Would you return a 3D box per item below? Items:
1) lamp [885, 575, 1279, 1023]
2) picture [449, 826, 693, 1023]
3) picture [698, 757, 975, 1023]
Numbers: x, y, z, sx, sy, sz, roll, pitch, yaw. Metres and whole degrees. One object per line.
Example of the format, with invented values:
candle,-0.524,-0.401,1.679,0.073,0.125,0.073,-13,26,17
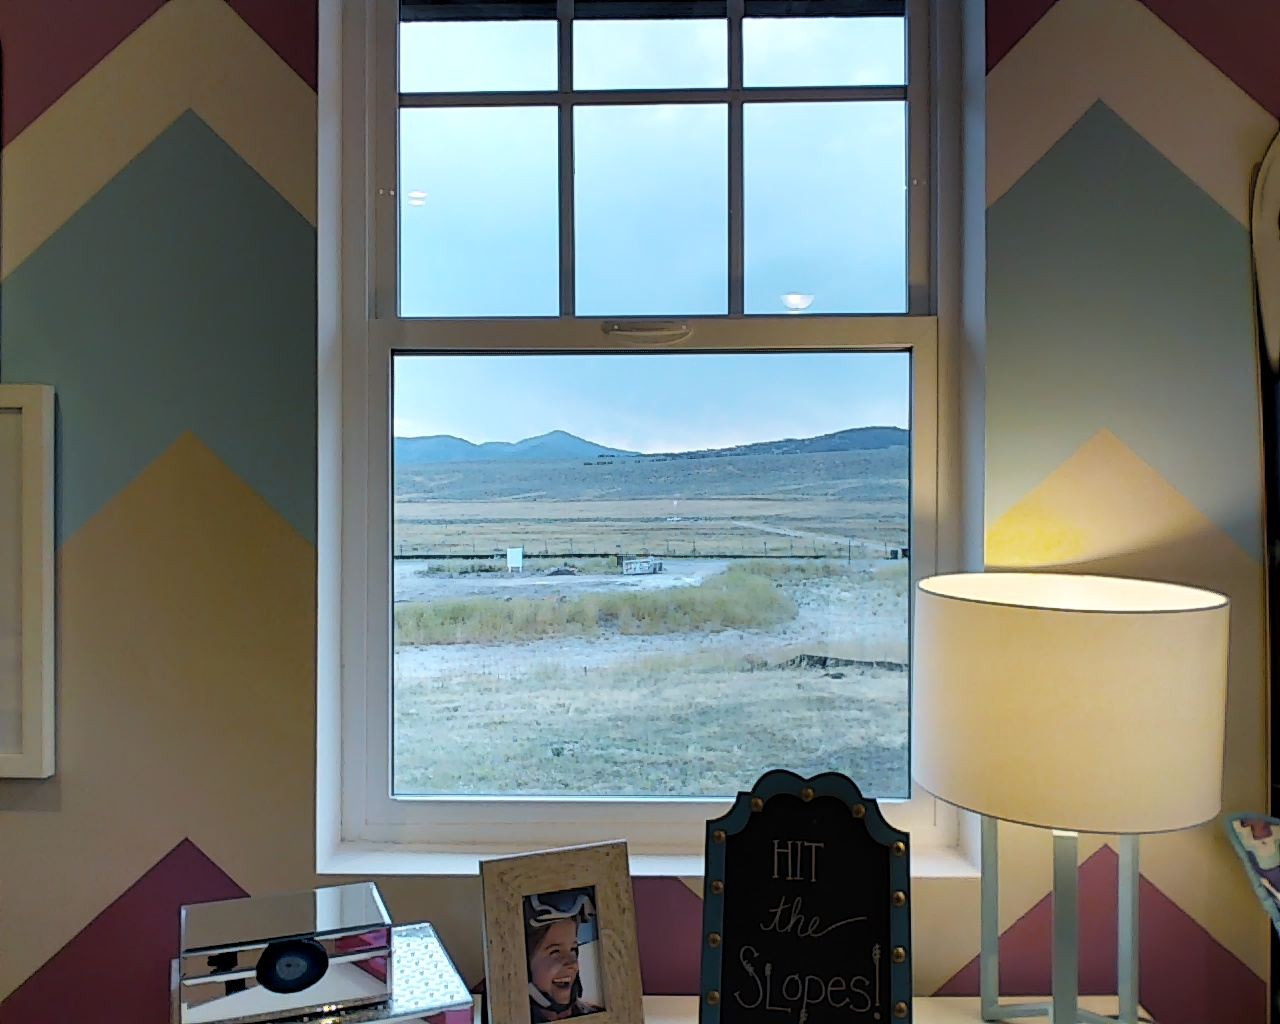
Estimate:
lamp,0.520,0.350,1.230,0.400,0.530,0.330,1,0,1
picture,-0.080,0.510,1.260,0.220,0.230,0.070,16,1,-22
picture,0.210,0.460,1.210,0.280,0.320,0.180,1,0,1
